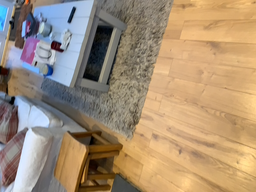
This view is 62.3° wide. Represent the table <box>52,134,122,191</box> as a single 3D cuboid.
[{"bbox_3d":[-0.340,0.560,1.740,0.350,0.350,0.400,18,95,44],"label":"table"}]

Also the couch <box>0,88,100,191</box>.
[{"bbox_3d":[-1.180,0.560,2.220,1.500,0.820,0.990,18,95,44],"label":"couch"}]
